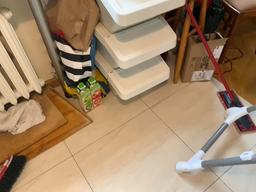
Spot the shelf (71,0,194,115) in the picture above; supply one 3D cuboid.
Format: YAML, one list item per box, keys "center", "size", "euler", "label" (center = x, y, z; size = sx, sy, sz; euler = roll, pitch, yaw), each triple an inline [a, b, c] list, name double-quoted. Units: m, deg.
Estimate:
- center: [0.000, -0.430, 1.350]
  size: [0.480, 0.880, 0.550]
  euler: [-26, 54, -20]
  label: "shelf"
